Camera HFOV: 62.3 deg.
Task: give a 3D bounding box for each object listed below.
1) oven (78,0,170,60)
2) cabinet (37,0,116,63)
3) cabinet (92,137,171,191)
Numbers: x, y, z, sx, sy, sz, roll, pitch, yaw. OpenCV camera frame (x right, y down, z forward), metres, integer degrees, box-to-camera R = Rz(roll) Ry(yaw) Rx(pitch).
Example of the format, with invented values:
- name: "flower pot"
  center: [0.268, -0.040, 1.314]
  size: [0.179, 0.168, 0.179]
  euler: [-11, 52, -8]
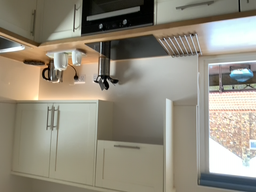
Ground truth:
- name: "oven"
  center: [0.010, -0.870, 1.840]
  size: [0.580, 0.930, 0.610]
  euler: [-1, 175, 24]
- name: "cabinet"
  center: [-0.450, -0.860, 2.040]
  size: [0.430, 0.930, 0.610]
  euler: [-1, 175, 24]
- name: "cabinet"
  center: [0.040, 0.610, 1.840]
  size: [0.590, 0.430, 0.330]
  euler: [-1, 175, 24]
